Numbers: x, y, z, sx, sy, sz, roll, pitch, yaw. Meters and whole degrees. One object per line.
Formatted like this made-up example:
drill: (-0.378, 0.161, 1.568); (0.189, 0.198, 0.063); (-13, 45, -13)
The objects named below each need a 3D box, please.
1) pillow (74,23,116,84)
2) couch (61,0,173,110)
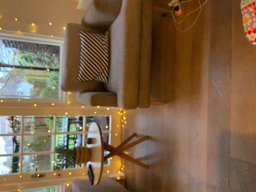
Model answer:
pillow: (-0.330, -0.420, 2.140); (0.130, 0.330, 0.540); (-1, -97, -86)
couch: (-0.170, -0.380, 2.110); (0.860, 0.830, 0.980); (180, 92, -65)
